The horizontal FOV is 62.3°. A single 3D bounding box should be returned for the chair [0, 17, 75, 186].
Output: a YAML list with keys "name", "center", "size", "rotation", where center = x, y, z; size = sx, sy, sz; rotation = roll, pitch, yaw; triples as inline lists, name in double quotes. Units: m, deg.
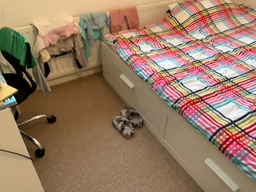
- name: "chair"
  center: [-0.850, 0.020, 1.370]
  size: [0.600, 0.760, 0.650]
  rotation: [29, 47, 31]
